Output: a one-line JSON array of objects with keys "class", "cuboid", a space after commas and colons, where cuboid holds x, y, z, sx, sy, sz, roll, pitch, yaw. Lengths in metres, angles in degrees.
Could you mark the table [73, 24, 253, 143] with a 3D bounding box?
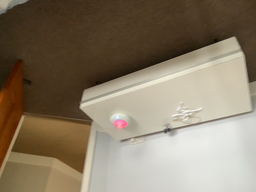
[{"class": "table", "cuboid": [0.270, 0.000, 1.750, 1.250, 0.290, 0.650, -17, 136, 22]}]
